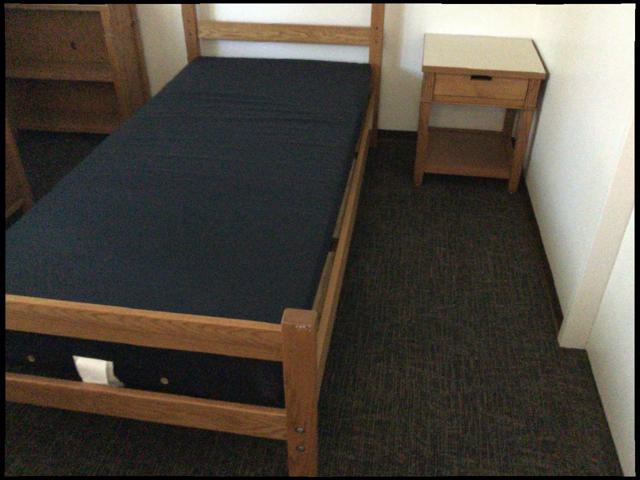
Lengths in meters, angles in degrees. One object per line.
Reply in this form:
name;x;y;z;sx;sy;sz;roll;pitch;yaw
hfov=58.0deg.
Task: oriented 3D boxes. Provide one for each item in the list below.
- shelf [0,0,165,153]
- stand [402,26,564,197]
shelf;-1.367;-0.932;3.090;0.828;0.751;0.410;7;36;11
stand;0.738;-0.621;2.730;0.599;0.591;0.530;7;36;11
